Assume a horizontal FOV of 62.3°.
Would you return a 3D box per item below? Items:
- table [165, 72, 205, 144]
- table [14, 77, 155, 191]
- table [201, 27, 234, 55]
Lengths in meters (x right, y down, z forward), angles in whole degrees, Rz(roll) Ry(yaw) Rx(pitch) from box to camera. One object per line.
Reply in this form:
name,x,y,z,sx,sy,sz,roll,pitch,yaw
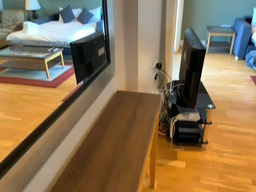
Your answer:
table,0.590,0.100,2.320,0.320,0.530,0.600,4,29,9
table,-0.130,0.570,1.120,0.330,0.870,1.290,6,29,13
table,2.080,-1.320,5.020,0.600,0.490,0.700,6,29,14
